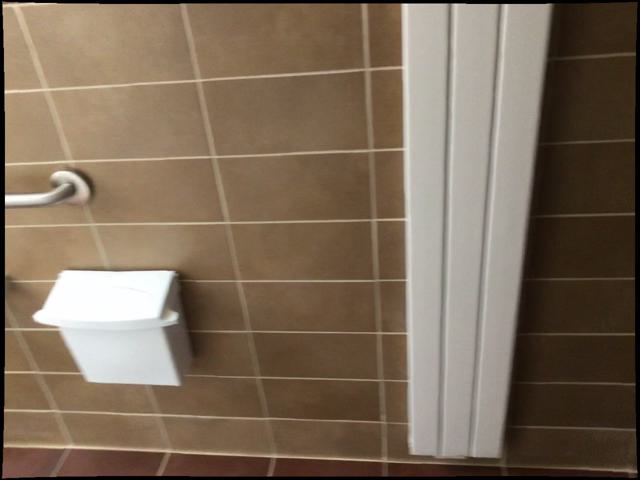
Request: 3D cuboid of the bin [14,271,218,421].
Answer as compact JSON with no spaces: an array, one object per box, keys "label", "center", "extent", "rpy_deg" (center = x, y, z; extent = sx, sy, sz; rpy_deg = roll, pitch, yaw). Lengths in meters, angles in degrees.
[{"label":"bin","center":[-0.469,0.261,1.380],"extent":[0.349,0.351,0.130],"rpy_deg":[-2,32,11]}]
